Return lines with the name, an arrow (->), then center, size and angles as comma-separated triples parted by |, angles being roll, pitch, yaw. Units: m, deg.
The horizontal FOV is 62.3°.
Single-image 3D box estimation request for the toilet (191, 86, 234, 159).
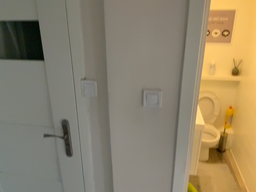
toilet -> 1.070, 0.320, 2.800 | 0.370, 0.730, 0.610 | 4, 22, 13
